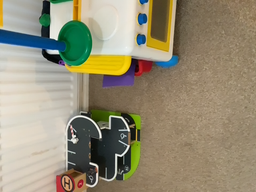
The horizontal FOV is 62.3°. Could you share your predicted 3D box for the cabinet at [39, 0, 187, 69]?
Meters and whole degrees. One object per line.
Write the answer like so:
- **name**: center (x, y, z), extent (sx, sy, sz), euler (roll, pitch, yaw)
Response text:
- **cabinet**: center (-0.040, -0.370, 0.960), extent (0.450, 0.500, 0.450), euler (8, 99, 31)
